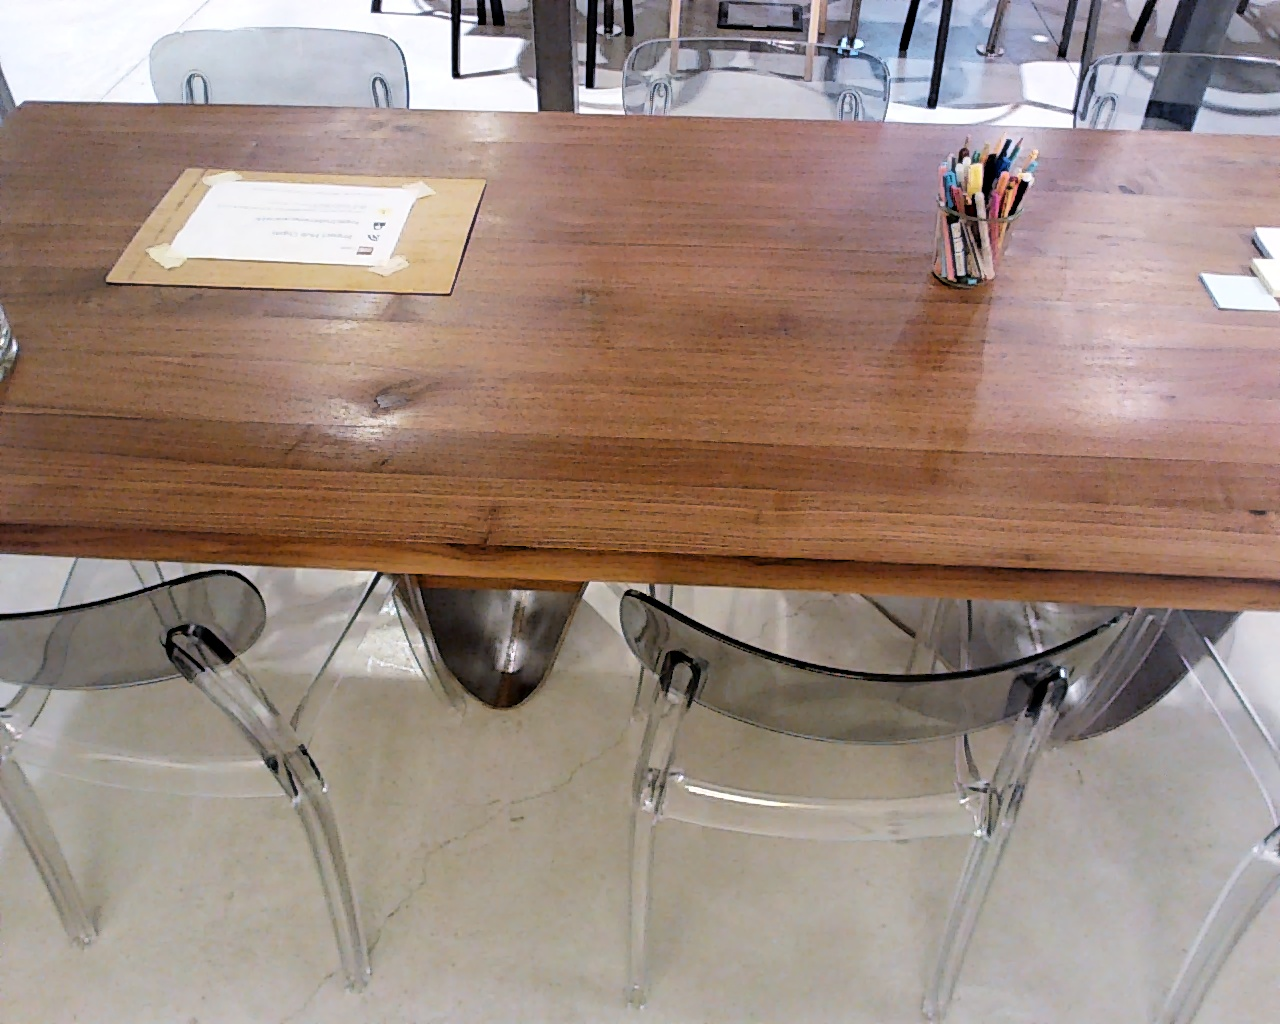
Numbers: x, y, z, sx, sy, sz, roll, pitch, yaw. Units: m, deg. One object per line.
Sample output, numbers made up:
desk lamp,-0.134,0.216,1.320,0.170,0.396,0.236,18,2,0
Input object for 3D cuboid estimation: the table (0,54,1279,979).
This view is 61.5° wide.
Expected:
table,0.220,-0.050,1.650,2.649,0.770,1.100,3,44,3
